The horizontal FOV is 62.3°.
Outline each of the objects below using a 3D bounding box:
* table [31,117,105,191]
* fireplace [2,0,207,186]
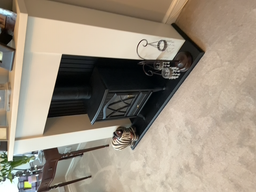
[{"bbox_3d":[-0.820,0.760,2.790,0.430,0.680,0.870,59,137,32],"label":"table"},{"bbox_3d":[-0.270,0.020,1.590,0.460,1.090,1.260,59,137,32],"label":"fireplace"}]
